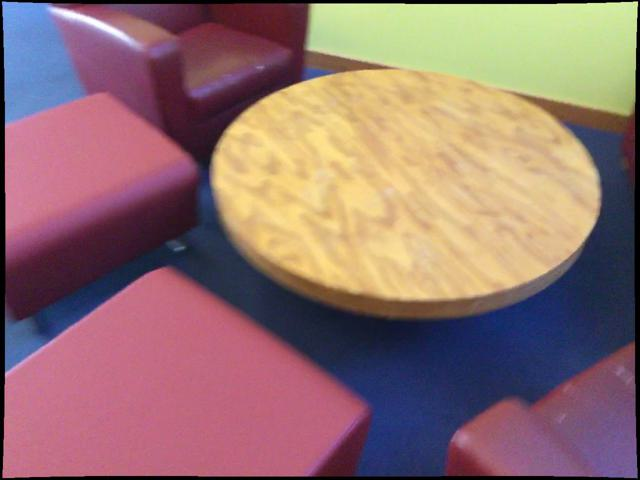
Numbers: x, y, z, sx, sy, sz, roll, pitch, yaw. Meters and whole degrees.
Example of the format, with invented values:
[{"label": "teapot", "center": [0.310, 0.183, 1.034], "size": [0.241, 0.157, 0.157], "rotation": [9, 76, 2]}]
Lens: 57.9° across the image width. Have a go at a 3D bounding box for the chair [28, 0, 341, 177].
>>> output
[{"label": "chair", "center": [-0.569, -0.931, 2.500], "size": [0.860, 0.730, 0.810], "rotation": [-43, 48, -20]}]
